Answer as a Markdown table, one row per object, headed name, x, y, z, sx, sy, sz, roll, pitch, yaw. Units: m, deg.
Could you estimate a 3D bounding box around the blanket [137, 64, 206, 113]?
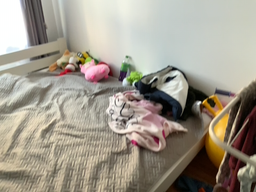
| name | x | y | z | sx | sy | sz | roll | pitch | yaw |
| --- | --- | --- | --- | --- | --- | --- | --- | --- | --- |
| blanket | 0.330 | -0.080 | 1.680 | 0.280 | 0.180 | 0.450 | -26 | 36 | -37 |
